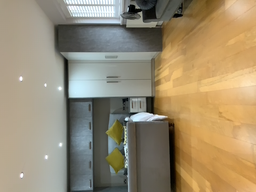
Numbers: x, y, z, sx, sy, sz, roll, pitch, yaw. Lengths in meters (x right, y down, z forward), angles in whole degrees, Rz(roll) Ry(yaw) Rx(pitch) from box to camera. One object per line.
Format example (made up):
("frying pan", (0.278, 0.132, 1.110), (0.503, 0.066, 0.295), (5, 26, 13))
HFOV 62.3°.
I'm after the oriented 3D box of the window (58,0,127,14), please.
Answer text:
("window", (-0.660, -1.790, 3.970), (1.190, 1.260, 0.050), (-171, 81, -86))
